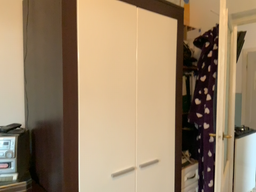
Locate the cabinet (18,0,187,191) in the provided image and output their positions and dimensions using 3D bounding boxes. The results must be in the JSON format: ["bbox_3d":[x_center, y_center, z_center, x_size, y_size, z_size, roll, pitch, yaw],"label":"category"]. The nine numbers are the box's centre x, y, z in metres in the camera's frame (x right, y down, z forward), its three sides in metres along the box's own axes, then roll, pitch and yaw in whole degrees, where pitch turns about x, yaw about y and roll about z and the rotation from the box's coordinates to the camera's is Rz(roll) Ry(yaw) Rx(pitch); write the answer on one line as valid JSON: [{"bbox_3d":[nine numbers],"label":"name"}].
[{"bbox_3d":[-0.160,0.370,1.400,0.840,1.970,0.650,-2,5,-44],"label":"cabinet"}]
